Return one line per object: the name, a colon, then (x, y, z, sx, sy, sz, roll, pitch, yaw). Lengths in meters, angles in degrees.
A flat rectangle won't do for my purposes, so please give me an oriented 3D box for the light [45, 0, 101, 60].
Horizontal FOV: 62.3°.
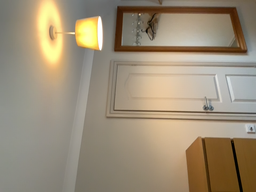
light: (-0.380, -0.520, 1.590, 0.300, 0.340, 0.370, 0, 64, 0)
